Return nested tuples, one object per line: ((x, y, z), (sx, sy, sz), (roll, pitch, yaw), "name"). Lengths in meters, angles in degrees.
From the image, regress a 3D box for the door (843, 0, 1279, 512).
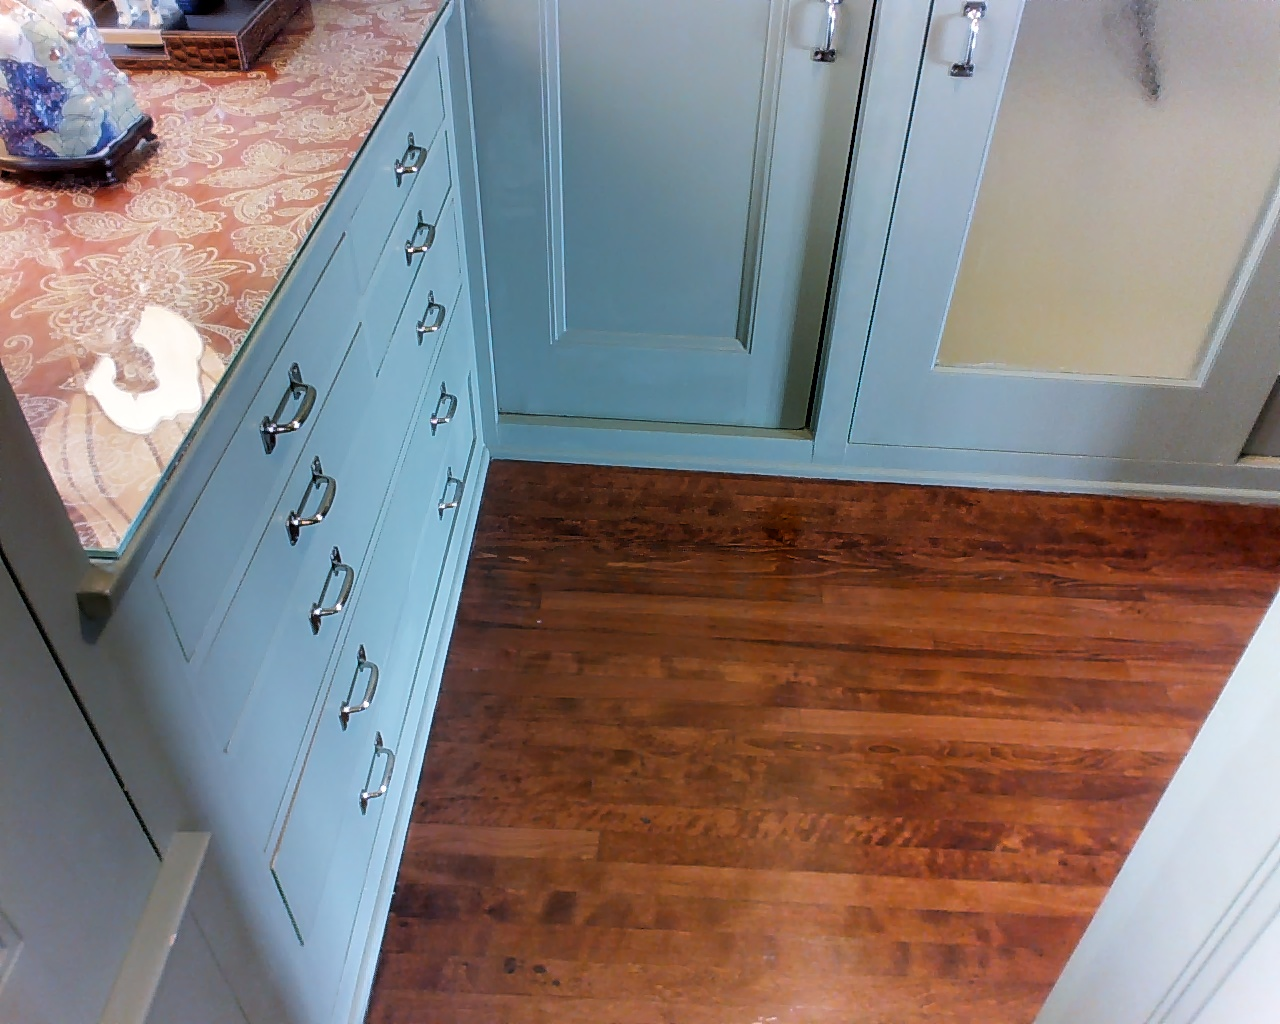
((0.990, -0.850, 1.920), (0.980, 2.100, 0.130), (1, 40, 1), "door")
